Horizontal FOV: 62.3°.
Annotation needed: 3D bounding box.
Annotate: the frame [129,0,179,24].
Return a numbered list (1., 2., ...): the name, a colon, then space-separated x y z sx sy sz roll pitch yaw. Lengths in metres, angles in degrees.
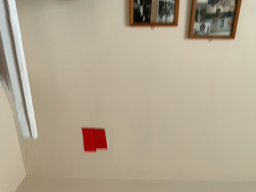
1. frame: 0.130 -0.520 1.050 0.250 0.300 0.020 2 -158 4
